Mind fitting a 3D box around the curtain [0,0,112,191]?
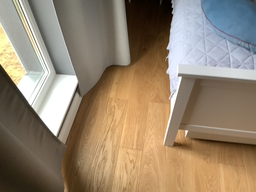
[{"bbox_3d":[-0.330,-0.350,0.280,0.190,2.690,1.860,4,52,4],"label":"curtain"}]
